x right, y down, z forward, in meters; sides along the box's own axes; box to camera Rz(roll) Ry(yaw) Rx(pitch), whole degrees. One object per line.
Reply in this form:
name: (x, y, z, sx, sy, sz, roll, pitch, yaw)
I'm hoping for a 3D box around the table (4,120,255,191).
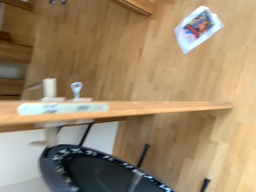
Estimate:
table: (0.070, 0.510, 1.270, 1.050, 1.120, 0.310, 21, 103, 40)
